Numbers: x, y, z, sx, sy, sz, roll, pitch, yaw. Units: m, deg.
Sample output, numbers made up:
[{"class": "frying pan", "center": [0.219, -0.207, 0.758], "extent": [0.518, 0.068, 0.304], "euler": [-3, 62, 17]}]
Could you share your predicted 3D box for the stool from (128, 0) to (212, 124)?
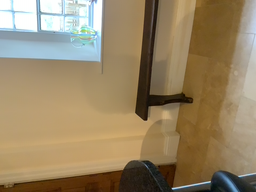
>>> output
[{"class": "stool", "center": [0.340, -0.450, 1.780], "extent": [0.250, 0.520, 1.350], "euler": [-135, 47, -64]}]
